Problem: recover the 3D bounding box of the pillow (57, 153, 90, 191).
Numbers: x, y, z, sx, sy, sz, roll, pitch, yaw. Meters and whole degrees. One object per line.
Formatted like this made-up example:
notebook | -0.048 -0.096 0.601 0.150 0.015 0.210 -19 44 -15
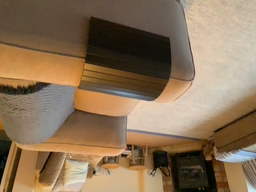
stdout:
pillow | -0.850 1.190 3.330 0.480 0.440 0.150 -6 -164 -42
